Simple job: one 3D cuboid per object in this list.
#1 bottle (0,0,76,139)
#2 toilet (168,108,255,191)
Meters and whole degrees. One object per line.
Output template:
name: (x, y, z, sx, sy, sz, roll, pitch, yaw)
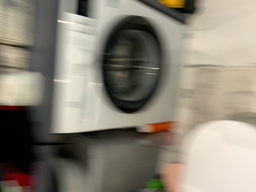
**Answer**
bottle: (-0.440, -0.160, 0.830, 0.400, 0.240, 0.530, 13, 98, 43)
toilet: (0.430, 0.340, 0.900, 0.360, 0.350, 0.510, 12, 98, 43)
